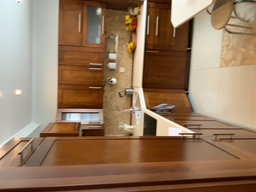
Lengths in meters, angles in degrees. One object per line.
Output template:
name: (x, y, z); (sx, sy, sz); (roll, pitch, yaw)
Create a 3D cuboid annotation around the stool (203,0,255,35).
stool: (1.050, -0.780, 2.040); (0.290, 0.530, 0.280); (-158, 70, -78)
